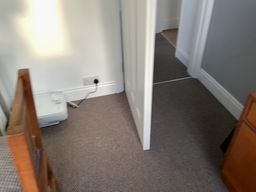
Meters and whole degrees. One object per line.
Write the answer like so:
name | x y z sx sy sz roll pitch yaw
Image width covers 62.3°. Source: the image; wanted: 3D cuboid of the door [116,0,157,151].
door | 0.010 -0.640 1.250 0.040 1.970 0.860 -9 38 -9
